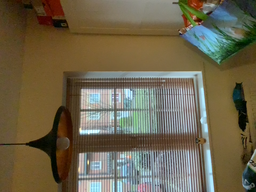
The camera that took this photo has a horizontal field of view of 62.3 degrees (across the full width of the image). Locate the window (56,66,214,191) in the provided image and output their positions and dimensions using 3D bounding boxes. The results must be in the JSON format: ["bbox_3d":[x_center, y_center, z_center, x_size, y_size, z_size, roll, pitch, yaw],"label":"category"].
[{"bbox_3d":[0.060,0.320,1.750,0.100,1.210,1.130,113,156,-79],"label":"window"}]
